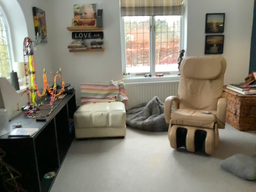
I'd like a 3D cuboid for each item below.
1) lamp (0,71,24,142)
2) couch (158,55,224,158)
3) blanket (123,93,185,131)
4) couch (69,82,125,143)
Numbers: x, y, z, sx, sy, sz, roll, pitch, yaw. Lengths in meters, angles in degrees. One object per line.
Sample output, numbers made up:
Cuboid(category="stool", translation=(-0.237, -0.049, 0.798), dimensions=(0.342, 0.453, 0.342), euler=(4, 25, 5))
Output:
Cuboid(category="lamp", translation=(-1.120, 0.080, 1.740), dimensions=(0.320, 0.520, 0.290), euler=(-3, 13, -3))
Cuboid(category="couch", translation=(0.910, 0.030, 2.960), dimensions=(0.710, 1.120, 1.100), euler=(3, 14, 23))
Cuboid(category="blanket", translation=(0.390, 0.240, 3.570), dimensions=(0.920, 0.400, 0.760), euler=(-3, 13, -1))
Cuboid(category="couch", translation=(-0.460, 0.200, 3.510), dimensions=(0.730, 0.660, 1.140), euler=(-3, 13, -4))
